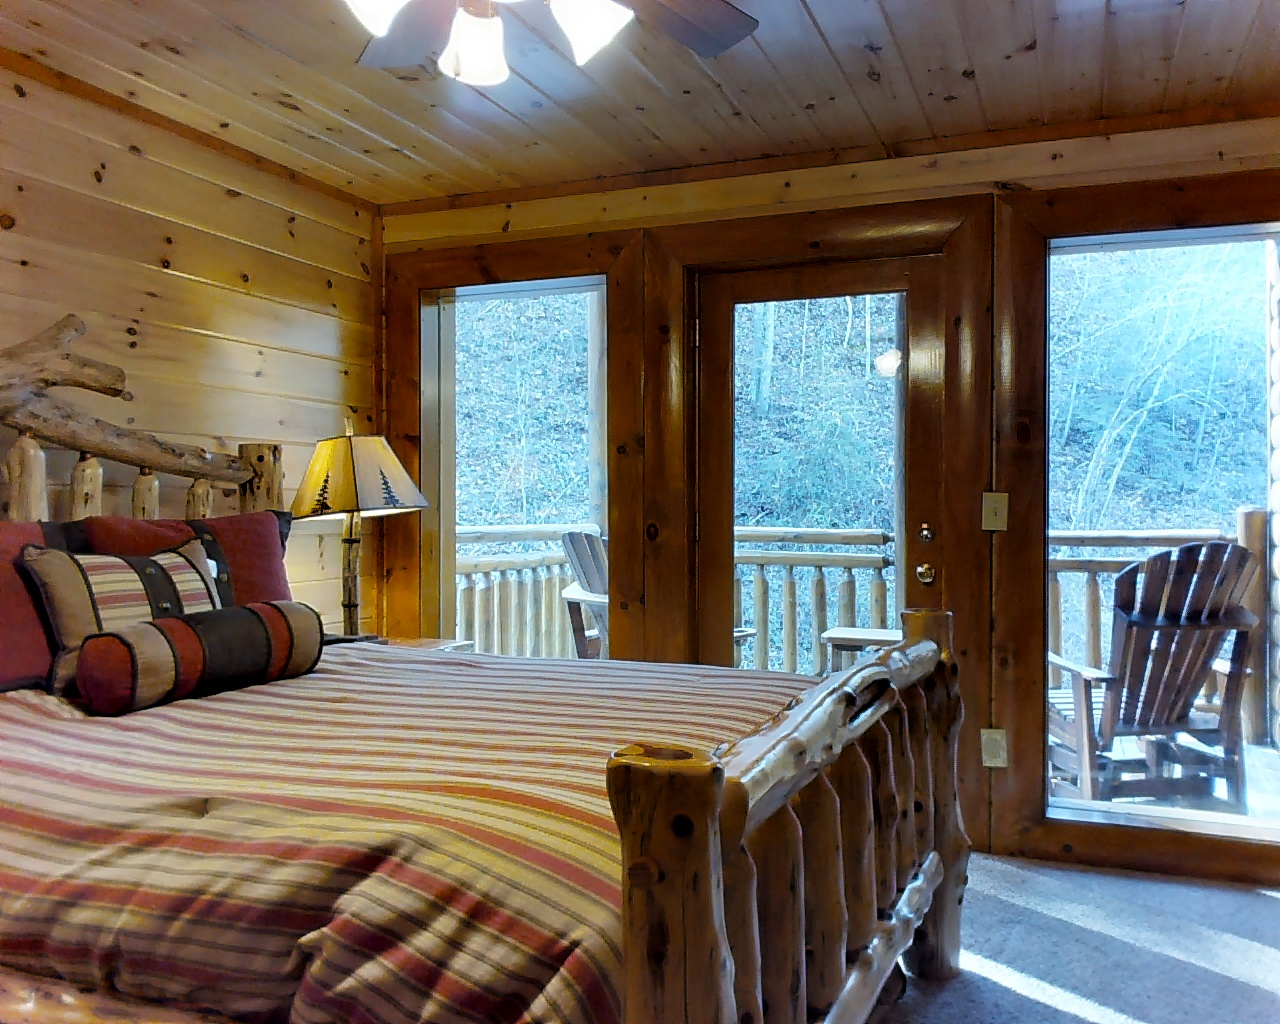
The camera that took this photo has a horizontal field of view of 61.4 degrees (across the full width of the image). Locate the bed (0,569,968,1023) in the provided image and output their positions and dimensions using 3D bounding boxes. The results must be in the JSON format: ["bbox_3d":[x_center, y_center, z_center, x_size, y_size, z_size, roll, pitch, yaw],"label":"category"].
[{"bbox_3d":[-0.660,0.660,2.360,2.479,0.910,1.850,1,0,22],"label":"bed"}]

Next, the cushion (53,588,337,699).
[{"bbox_3d":[-1.010,0.290,2.510,0.250,0.180,0.590,1,0,27],"label":"cushion"}]

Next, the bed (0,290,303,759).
[{"bbox_3d":[-1.639,0.030,2.780,0.360,1.120,1.870,1,0,22],"label":"bed"}]

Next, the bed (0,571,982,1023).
[{"bbox_3d":[-0.540,0.670,2.350,2.299,0.920,2.030,1,0,22],"label":"bed"}]

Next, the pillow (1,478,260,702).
[{"bbox_3d":[-1.200,0.200,2.600,0.160,0.380,0.500,0,-25,23],"label":"pillow"}]
